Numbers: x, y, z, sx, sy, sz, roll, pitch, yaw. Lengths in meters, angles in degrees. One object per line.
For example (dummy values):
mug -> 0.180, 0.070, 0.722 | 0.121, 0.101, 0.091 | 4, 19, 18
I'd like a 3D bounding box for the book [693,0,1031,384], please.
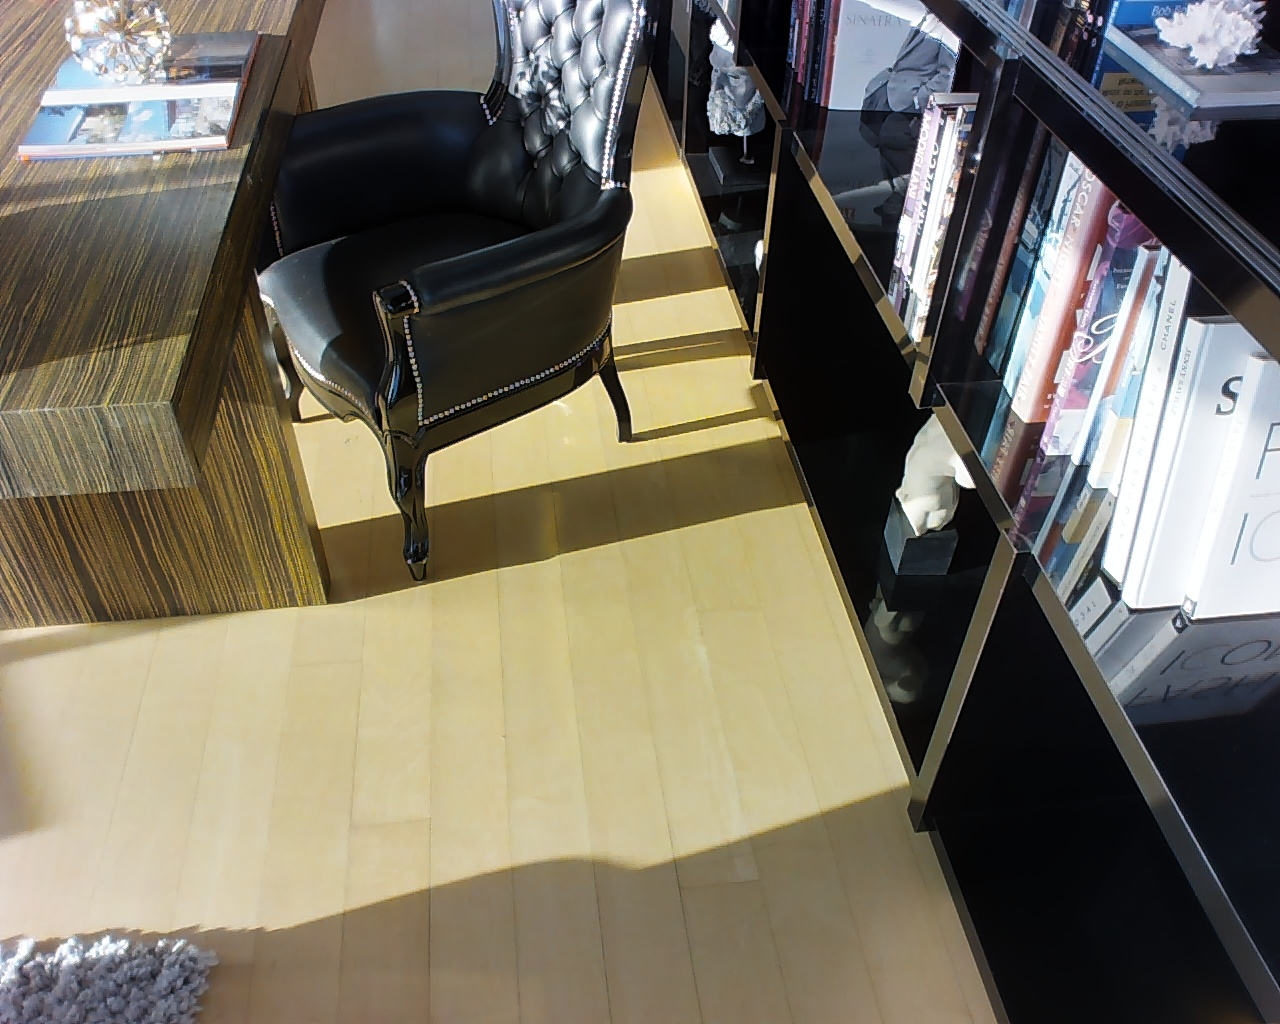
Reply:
book -> 0.440, -1.140, 2.540 | 0.370, 1.150, 1.230 | -3, 43, -6
